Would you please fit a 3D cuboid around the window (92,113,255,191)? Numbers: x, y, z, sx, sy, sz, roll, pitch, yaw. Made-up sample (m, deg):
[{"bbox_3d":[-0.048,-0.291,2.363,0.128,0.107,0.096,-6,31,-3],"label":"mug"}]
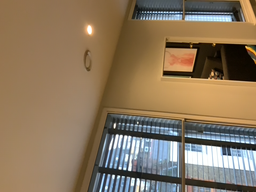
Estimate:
[{"bbox_3d":[0.490,0.640,1.620,0.080,1.470,0.980,82,-164,-54],"label":"window"}]
